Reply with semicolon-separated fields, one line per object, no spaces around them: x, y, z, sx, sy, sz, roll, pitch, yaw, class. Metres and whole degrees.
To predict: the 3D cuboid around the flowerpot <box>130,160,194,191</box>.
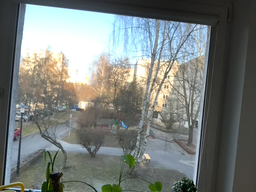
0.190;0.620;1.330;0.310;0.320;0.290;6;1;-6;flowerpot
